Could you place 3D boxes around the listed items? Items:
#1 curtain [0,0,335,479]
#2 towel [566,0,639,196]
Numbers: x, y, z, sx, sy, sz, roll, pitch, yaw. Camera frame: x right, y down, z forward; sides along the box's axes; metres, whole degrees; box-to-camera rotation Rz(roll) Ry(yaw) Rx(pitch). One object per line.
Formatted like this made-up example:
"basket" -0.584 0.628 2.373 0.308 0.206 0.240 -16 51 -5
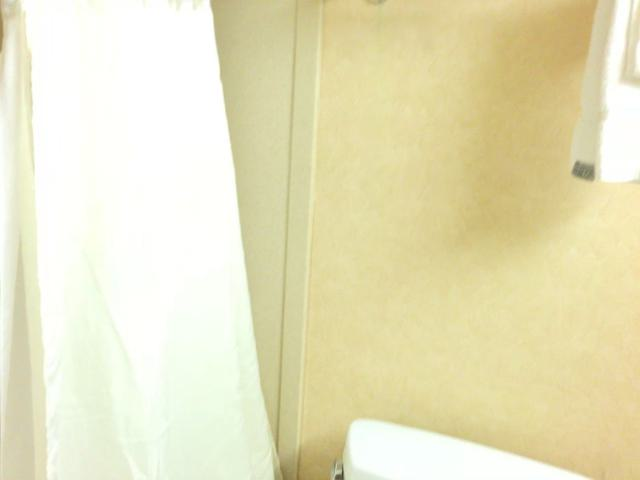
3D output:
"curtain" -0.280 0.120 0.940 0.290 2.030 0.770 9 15 20
"towel" 0.480 -0.240 0.830 0.180 0.340 0.130 9 15 20
